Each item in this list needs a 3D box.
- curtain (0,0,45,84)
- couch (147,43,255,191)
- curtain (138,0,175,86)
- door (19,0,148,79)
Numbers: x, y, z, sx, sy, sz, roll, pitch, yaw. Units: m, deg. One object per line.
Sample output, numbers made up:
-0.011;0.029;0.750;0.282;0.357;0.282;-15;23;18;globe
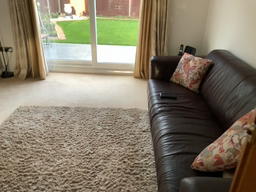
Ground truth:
-1.660;-1.300;3.150;0.460;2.320;0.190;3;26;2;curtain
0.670;0.190;1.830;0.870;0.800;2.170;2;26;2;couch
0.440;-1.220;3.210;0.460;2.210;0.220;3;26;2;curtain
-0.750;-1.550;3.630;2.170;2.540;0.170;3;26;2;door
